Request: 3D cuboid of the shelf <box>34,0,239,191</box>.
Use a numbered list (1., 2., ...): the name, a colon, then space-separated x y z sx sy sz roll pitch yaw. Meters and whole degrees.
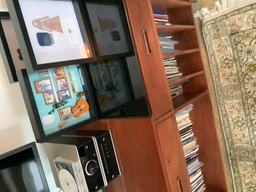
1. shelf: 0.110 0.010 1.120 0.550 0.690 1.150 -6 99 42
